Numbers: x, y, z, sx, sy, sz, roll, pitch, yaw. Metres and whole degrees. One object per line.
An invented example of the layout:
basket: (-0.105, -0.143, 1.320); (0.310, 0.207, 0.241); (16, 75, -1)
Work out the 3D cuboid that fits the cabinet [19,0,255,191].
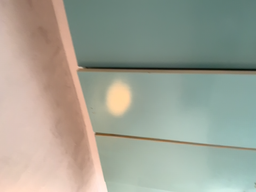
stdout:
cabinet: (0.180, 0.110, 0.930); (0.330, 0.840, 1.800); (-65, -27, -55)
